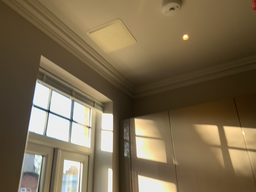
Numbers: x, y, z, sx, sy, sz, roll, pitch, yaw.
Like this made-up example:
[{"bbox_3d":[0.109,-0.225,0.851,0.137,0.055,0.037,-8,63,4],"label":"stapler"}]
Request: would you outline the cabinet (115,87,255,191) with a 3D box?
[{"bbox_3d":[0.600,0.530,2.030,1.450,0.850,0.410,-15,-28,25],"label":"cabinet"}]
